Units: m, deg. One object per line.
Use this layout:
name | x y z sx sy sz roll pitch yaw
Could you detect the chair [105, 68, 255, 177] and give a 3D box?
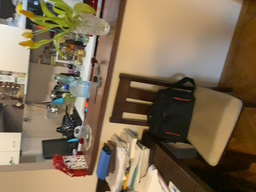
chair | 0.430 0.150 1.480 0.550 0.990 0.460 37 118 59
